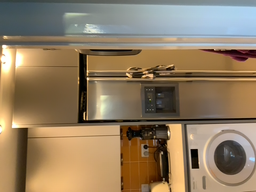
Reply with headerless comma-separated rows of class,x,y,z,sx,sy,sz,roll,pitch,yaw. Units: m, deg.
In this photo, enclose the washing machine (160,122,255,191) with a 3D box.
washing machine,0.870,0.570,2.190,0.690,0.910,0.580,122,147,-80
